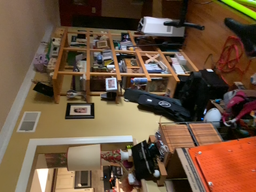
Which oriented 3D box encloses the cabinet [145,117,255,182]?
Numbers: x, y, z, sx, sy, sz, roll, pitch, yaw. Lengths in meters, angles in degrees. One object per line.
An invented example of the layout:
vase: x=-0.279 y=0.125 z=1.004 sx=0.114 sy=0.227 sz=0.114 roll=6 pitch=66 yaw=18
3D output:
cabinet: x=0.710 y=0.510 z=2.120 sx=0.390 sy=0.960 sz=0.440 roll=-108 pitch=21 yaw=-58
